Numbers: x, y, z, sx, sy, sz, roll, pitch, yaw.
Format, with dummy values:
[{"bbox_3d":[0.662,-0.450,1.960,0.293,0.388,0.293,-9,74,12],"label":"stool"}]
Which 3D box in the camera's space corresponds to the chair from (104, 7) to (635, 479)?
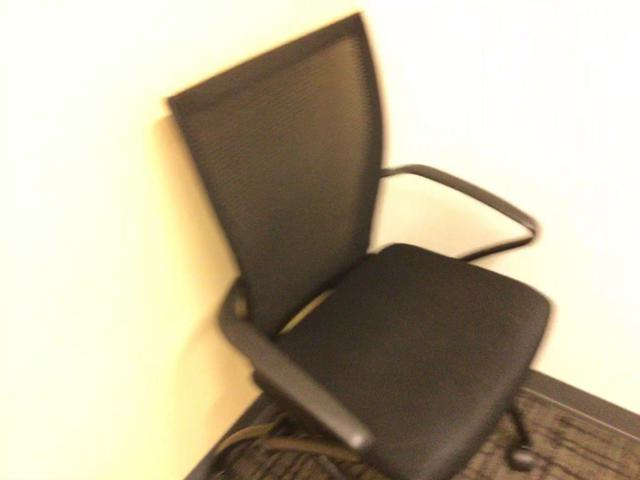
[{"bbox_3d":[0.130,0.150,1.040,0.480,0.910,0.570,20,43,31],"label":"chair"}]
